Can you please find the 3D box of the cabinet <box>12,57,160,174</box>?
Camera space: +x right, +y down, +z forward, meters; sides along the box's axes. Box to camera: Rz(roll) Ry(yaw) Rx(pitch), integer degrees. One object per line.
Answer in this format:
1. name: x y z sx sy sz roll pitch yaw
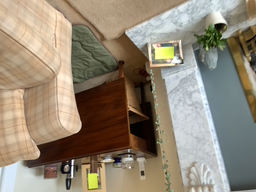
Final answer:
1. cabinet: -0.390 0.270 1.960 1.140 0.710 0.570 -17 153 24
